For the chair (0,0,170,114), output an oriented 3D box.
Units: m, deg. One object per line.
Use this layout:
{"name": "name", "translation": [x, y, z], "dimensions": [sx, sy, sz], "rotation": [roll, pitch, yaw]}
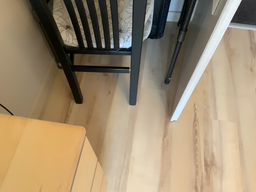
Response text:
{"name": "chair", "translation": [-0.140, -0.420, 0.990], "dimensions": [0.530, 1.010, 0.620], "rotation": [3, 61, 0]}
